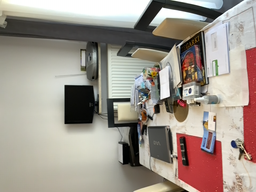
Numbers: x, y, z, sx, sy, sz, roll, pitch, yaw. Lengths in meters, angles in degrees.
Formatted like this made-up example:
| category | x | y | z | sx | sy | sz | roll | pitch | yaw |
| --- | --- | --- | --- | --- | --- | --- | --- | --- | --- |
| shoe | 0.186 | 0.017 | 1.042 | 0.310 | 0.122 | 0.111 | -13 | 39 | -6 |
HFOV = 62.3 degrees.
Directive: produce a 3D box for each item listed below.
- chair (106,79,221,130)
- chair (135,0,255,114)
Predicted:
| category | x | y | z | sx | sy | sz | roll | pitch | yaw |
| --- | --- | --- | --- | --- | --- | --- | --- | --- | --- |
| chair | 0.340 | 0.110 | 2.300 | 0.560 | 1.060 | 0.420 | 137 | 131 | -70 |
| chair | 0.610 | -0.190 | 1.320 | 0.390 | 1.050 | 0.560 | 155 | 114 | -74 |
